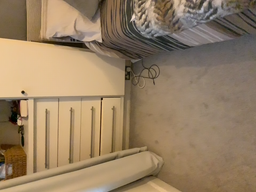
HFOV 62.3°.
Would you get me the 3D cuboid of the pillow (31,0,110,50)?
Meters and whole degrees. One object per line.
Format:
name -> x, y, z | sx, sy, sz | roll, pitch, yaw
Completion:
pillow -> -0.430, -0.660, 1.630 | 0.240, 0.420, 0.430 | 5, 74, 55
